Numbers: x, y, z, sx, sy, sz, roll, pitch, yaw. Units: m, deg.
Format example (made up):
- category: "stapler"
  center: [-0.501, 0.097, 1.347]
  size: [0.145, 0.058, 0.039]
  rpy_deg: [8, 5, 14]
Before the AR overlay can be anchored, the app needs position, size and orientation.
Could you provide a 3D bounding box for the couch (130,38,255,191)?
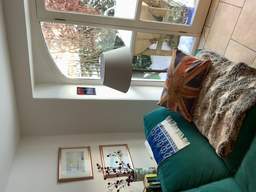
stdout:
- category: "couch"
  center: [0.750, 0.460, 1.580]
  size: [1.990, 0.880, 1.060]
  rpy_deg: [-111, 26, -53]
